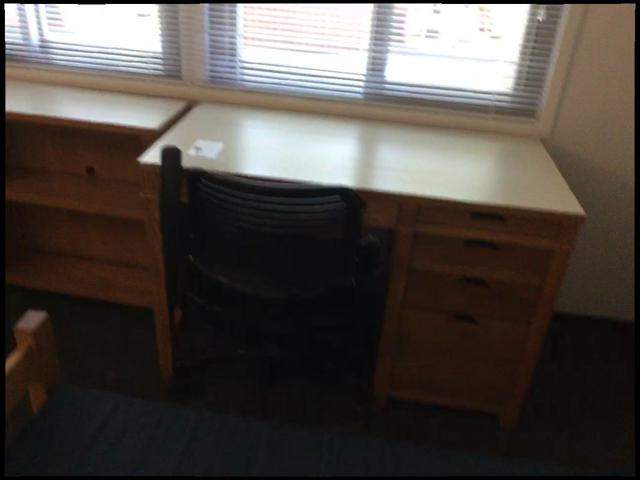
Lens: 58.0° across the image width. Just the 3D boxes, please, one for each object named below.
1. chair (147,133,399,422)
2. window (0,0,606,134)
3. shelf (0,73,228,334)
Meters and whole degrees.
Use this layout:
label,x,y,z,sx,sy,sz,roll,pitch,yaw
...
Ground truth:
label,x,y,z,sx,sy,sz,roll,pitch,yaw
chair,-0.120,0.120,1.640,0.589,0.741,0.250,7,32,6
window,-0.369,-0.962,1.930,2.495,0.901,0.300,7,32,6
shelf,-0.828,-0.140,2.100,0.868,0.751,0.410,7,32,6
